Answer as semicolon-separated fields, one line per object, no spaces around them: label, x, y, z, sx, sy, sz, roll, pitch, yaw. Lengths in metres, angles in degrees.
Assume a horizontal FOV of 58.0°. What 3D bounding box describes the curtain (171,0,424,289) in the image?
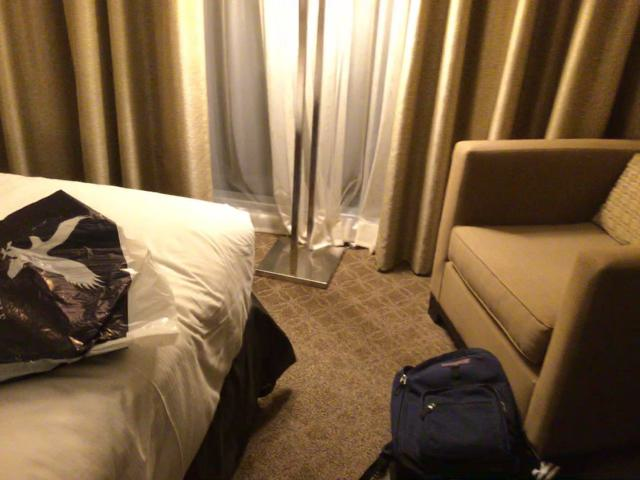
curtain;-0.080;-0.700;2.260;0.890;1.740;0.340;8;27;9

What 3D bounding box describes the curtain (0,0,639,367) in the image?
curtain;-0.260;-0.720;1.990;3.470;1.840;0.610;8;27;9
